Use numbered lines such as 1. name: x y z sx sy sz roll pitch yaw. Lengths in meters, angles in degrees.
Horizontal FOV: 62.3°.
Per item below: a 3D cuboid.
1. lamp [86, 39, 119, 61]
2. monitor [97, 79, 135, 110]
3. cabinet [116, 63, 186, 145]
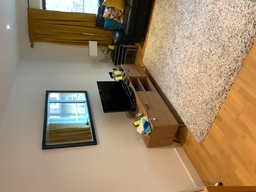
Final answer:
1. lamp: -0.590 -1.050 4.860 0.350 0.680 0.340 -114 29 -49
2. monitor: -0.220 -0.050 3.500 0.740 0.500 0.040 -108 24 -47
3. cabinet: 0.280 0.020 3.650 1.770 0.540 0.410 -116 30 -51
